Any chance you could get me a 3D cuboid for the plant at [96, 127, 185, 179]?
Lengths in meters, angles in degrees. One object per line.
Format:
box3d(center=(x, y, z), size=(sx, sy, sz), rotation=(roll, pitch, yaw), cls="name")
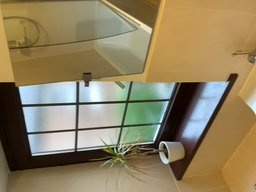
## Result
box3d(center=(0.070, 0.370, 1.410), size=(0.170, 0.530, 0.240), rotation=(-113, 27, -50), cls="plant")
